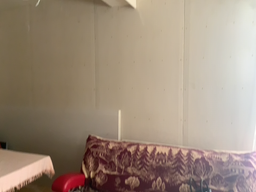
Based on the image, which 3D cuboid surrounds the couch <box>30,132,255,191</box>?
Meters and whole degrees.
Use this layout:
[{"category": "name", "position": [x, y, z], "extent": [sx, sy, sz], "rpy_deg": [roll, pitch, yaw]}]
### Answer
[{"category": "couch", "position": [0.240, 0.980, 2.040], "extent": [1.880, 0.880, 1.160], "rpy_deg": [1, 4, 22]}]
